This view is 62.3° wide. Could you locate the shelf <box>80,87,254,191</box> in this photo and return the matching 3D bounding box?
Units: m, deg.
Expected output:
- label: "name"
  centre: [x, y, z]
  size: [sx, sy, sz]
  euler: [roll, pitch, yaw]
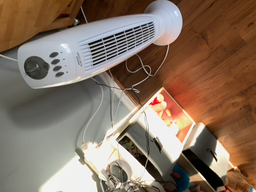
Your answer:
- label: "shelf"
  centre: [0.280, 0.480, 1.190]
  size: [0.910, 0.570, 0.300]
  euler: [48, 129, 1]
